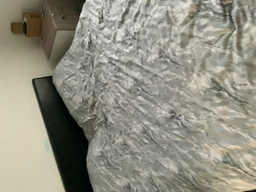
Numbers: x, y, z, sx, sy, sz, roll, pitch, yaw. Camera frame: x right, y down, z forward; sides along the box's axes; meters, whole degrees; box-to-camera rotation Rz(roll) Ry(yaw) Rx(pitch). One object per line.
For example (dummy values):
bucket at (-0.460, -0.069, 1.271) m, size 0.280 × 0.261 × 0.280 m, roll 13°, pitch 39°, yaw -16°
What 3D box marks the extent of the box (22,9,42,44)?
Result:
box at (-1.120, -0.800, 2.450) m, size 0.230 × 0.150 × 0.310 m, roll 55°, pitch 139°, yaw 30°
